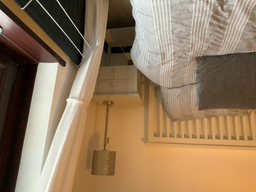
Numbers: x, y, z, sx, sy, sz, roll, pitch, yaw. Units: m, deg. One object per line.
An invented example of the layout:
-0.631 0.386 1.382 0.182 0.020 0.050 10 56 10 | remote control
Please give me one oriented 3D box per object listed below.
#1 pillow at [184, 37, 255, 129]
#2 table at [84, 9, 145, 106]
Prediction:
0.710 -0.100 1.480 0.440 0.450 0.200 30 -153 15 | pillow
-0.090 -0.330 1.990 0.430 0.770 0.410 -1 163 12 | table
